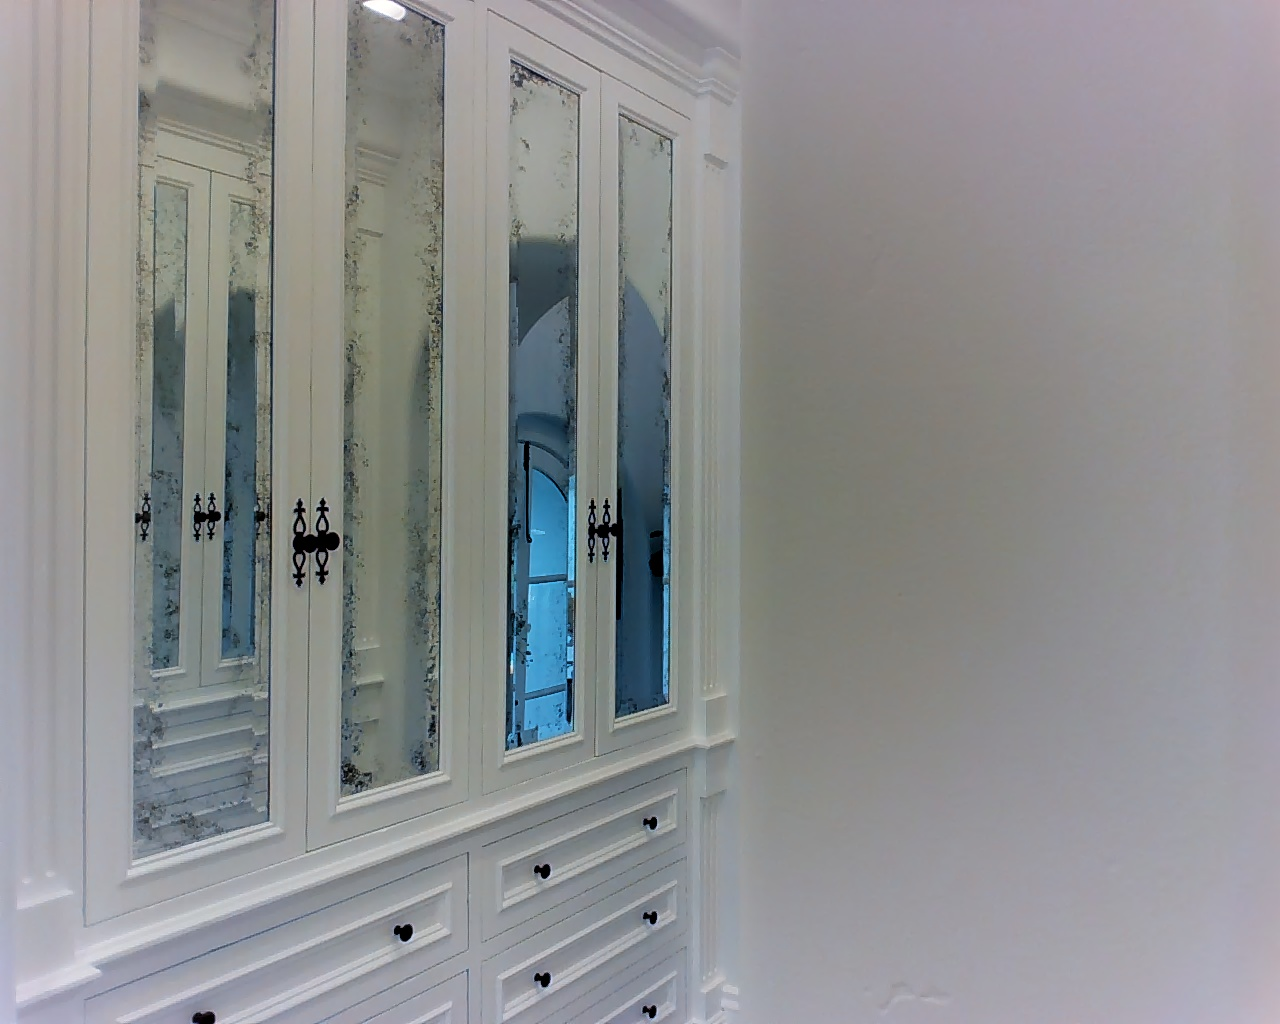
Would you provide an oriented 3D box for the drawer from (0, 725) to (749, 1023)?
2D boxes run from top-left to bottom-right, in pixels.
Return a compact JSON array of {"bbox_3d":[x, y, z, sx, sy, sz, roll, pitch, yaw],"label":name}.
[{"bbox_3d":[-0.310,1.110,2.270,0.100,0.980,2.010,1,0,35],"label":"drawer"}]
